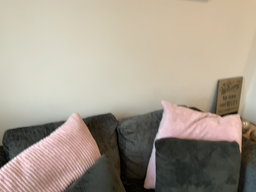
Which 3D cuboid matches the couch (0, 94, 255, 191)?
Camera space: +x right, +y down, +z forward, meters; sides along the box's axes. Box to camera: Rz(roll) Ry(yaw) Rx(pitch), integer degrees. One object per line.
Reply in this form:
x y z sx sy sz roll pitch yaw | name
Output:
0.050 0.610 1.110 1.520 0.730 0.970 -8 28 -27 | couch

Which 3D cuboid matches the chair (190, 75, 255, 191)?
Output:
0.910 0.320 1.800 0.380 0.860 0.450 -8 28 -27 | chair
